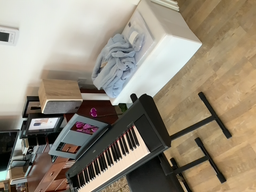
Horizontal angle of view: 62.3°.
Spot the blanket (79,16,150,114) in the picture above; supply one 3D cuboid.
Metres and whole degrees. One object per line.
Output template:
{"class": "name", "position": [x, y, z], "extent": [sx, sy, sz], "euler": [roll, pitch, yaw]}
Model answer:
{"class": "blanket", "position": [-0.150, -0.200, 1.630], "extent": [0.650, 0.150, 0.400], "euler": [-48, 53, 41]}
